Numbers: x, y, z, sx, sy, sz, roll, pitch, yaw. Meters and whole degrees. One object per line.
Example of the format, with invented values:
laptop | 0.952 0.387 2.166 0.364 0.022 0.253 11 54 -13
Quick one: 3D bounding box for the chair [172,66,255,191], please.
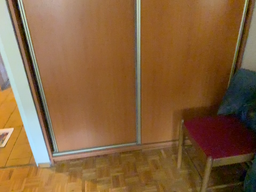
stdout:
chair | 0.650 0.280 1.440 0.480 0.810 0.500 -5 28 -8
